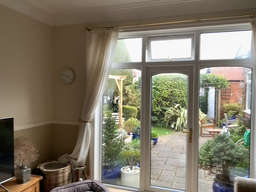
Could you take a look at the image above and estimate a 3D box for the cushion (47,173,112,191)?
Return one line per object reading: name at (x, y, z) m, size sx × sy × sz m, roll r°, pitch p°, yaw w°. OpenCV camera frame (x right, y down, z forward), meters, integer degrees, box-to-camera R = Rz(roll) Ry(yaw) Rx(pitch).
cushion at (-0.690, 1.340, 2.940) m, size 0.750 × 0.200 × 0.620 m, roll 1°, pitch 2°, yaw -28°
